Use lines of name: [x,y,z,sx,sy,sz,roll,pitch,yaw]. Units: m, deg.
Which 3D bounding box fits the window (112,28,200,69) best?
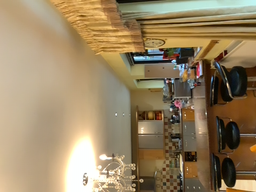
window: [0.410,-0.670,3.340,1.580,1.050,0.100,39,-129,-82]
